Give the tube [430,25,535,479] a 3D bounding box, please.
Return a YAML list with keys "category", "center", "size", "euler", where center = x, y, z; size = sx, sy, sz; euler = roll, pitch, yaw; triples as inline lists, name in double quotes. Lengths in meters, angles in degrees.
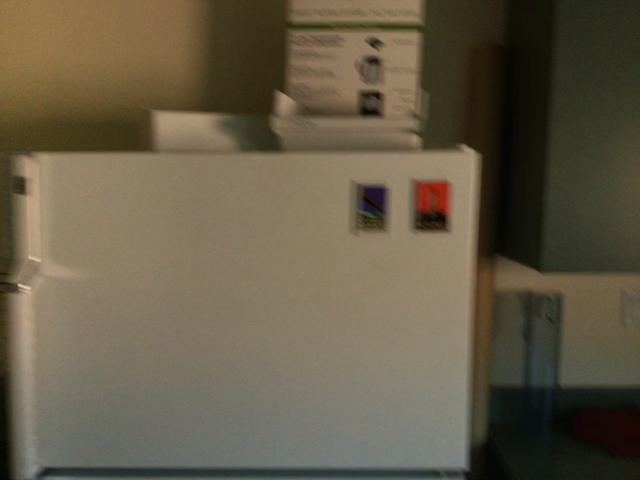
- category: "tube"
  center: [0.410, 0.420, 1.590]
  size: [0.150, 1.890, 0.250]
  euler: [2, 7, 3]
